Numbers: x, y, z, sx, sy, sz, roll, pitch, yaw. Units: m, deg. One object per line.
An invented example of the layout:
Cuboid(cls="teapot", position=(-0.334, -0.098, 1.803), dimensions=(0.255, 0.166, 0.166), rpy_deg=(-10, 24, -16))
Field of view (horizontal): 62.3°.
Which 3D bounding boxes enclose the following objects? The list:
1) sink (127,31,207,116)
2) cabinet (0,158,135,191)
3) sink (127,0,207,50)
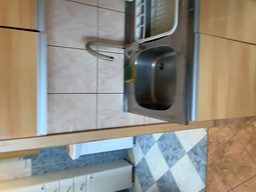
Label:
Cuboid(cls="sink", position=(0.190, -0.110, 1.200), dimensions=(0.460, 0.180, 0.380), rpy_deg=(3, 94, 58))
Cuboid(cls="cabinet", position=(-0.810, 1.100, 2.470), dimensions=(0.320, 1.920, 0.350), rpy_deg=(-1, 90, 59))
Cuboid(cls="sink", position=(0.190, -0.470, 1.190), dimensions=(0.460, 0.180, 0.340), rpy_deg=(3, 94, 58))
